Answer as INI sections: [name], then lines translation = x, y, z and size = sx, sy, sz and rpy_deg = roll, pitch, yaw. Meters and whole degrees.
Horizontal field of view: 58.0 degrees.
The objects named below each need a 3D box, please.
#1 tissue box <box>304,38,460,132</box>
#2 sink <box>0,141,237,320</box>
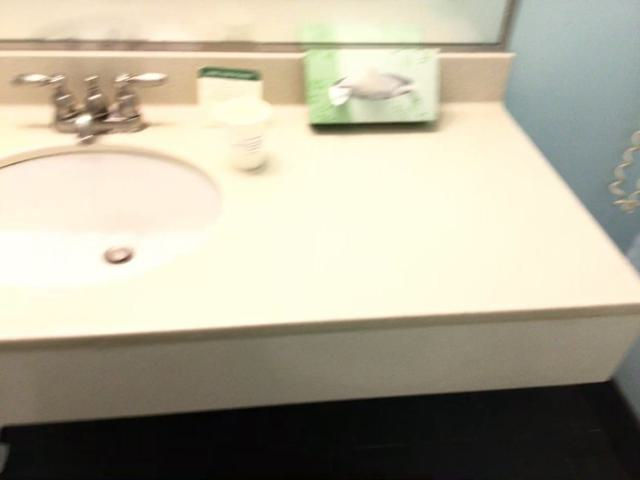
[tissue box]
translation = 0.100, -0.270, 1.010
size = 0.240, 0.120, 0.110
rpy_deg = -1, 40, -8
[sink]
translation = -0.350, -0.020, 0.930
size = 0.420, 0.200, 0.200
rpy_deg = -1, 40, -8
